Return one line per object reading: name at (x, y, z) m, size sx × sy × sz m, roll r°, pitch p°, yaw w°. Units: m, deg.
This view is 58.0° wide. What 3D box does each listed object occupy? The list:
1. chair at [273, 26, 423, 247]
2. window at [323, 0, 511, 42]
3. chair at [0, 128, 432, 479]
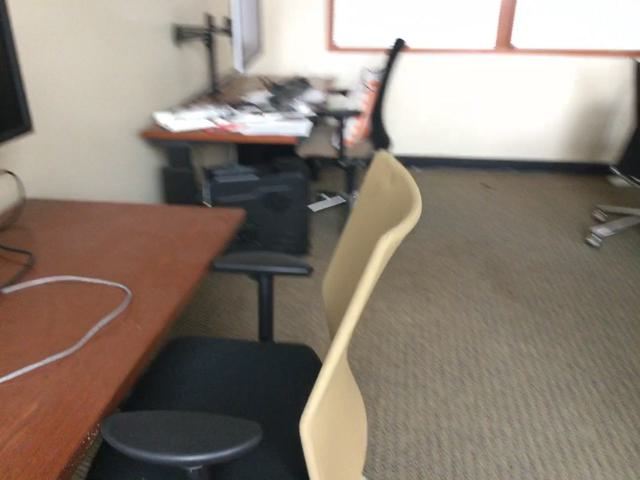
chair at (0.170, -0.580, 3.090) m, size 0.670 × 1.020 × 0.670 m, roll 3°, pitch 24°, yaw 8°
window at (0.590, -1.630, 3.540) m, size 1.140 × 0.780 × 0.100 m, roll 3°, pitch 24°, yaw 8°
chair at (-0.120, 0.320, 1.160) m, size 0.590 × 0.930 × 0.670 m, roll 3°, pitch 24°, yaw 8°
